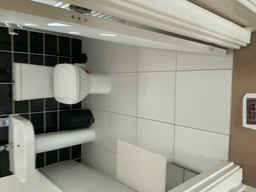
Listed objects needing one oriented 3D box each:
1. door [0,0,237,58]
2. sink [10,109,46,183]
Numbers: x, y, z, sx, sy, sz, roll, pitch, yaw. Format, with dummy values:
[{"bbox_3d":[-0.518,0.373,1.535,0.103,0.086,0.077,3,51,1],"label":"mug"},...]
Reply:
[{"bbox_3d":[-0.340,-0.320,0.840,0.770,1.920,0.050,23,108,45],"label":"door"},{"bbox_3d":[-0.930,0.430,1.950,0.420,0.180,0.550,7,97,47],"label":"sink"}]
